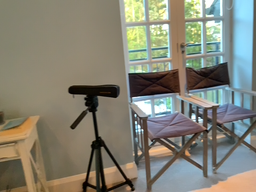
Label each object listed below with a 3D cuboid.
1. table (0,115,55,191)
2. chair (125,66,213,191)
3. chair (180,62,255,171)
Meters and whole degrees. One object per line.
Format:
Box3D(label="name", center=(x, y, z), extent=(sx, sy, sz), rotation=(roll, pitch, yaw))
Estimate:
Box3D(label="table", center=(-0.780, 0.540, 1.360), extent=(0.480, 0.680, 0.430), rotation=(-9, 13, -14))
Box3D(label="chair", center=(0.340, 0.220, 1.870), extent=(0.530, 0.890, 0.540), rotation=(-9, 13, -14))
Box3D(label="chair", center=(0.890, 0.140, 2.050), extent=(0.520, 0.860, 0.530), rotation=(-9, 13, -14))
